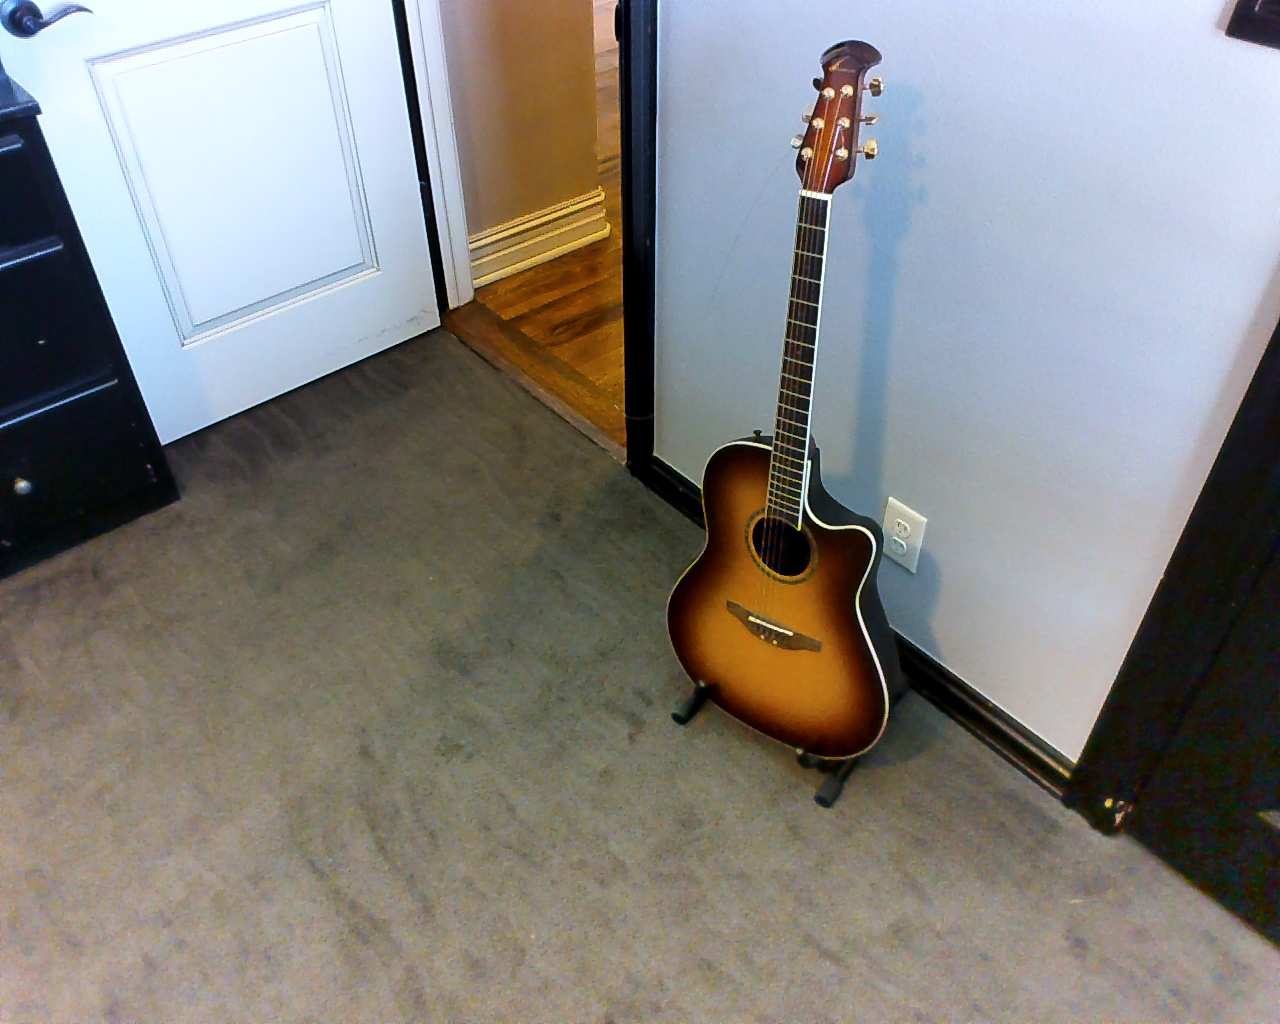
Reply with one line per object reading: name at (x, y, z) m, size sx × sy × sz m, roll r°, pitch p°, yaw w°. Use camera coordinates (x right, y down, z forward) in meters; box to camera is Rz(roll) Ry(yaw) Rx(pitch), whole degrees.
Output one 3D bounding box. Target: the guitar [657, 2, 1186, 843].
guitar at (0.290, -0.060, 1.490) m, size 0.310 × 1.060 × 0.440 m, roll -30°, pitch 51°, yaw -28°
